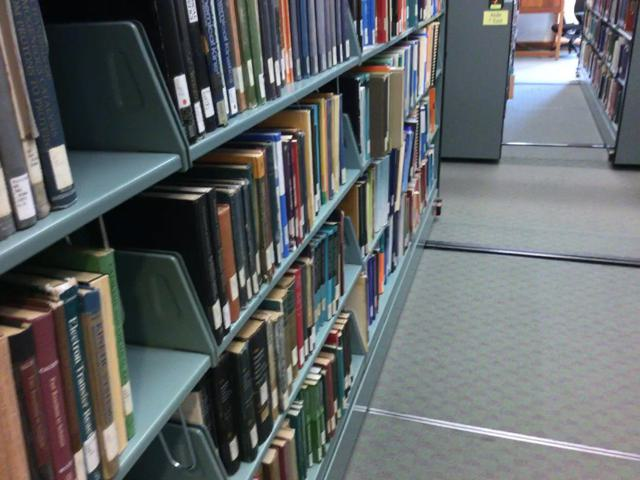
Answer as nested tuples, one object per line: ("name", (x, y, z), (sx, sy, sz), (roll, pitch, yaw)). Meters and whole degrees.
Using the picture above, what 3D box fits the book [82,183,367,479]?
("book", (-0.110, 0.150, 1.340), (0.250, 0.300, 0.960), (4, 23, 15))

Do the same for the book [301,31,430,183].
("book", (0.210, -0.520, 2.010), (0.210, 0.340, 1.110), (4, 23, 15))

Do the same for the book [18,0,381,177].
("book", (-0.090, -0.460, 1.220), (0.220, 0.330, 1.210), (4, 23, 15))

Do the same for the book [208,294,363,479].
("book", (-0.050, 0.460, 1.420), (0.130, 0.280, 0.880), (4, 23, 15))

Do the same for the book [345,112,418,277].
("book", (0.250, -0.220, 2.110), (0.090, 0.330, 0.960), (4, 23, 15))
